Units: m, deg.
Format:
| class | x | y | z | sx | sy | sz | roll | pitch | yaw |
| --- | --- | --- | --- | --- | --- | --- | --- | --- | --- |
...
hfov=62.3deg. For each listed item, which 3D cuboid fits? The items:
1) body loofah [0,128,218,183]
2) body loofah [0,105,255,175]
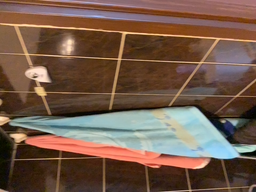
| class | x | y | z | sx | sy | sz | roll | pitch | yaw |
| --- | --- | --- | --- | --- | --- | --- | --- | --- | --- |
| body loofah | -0.150 | 0.310 | 1.110 | 0.250 | 1.160 | 0.200 | 108 | 160 | -60 |
| body loofah | 0.020 | 0.190 | 0.920 | 0.230 | 1.100 | 0.200 | 107 | 162 | -58 |
